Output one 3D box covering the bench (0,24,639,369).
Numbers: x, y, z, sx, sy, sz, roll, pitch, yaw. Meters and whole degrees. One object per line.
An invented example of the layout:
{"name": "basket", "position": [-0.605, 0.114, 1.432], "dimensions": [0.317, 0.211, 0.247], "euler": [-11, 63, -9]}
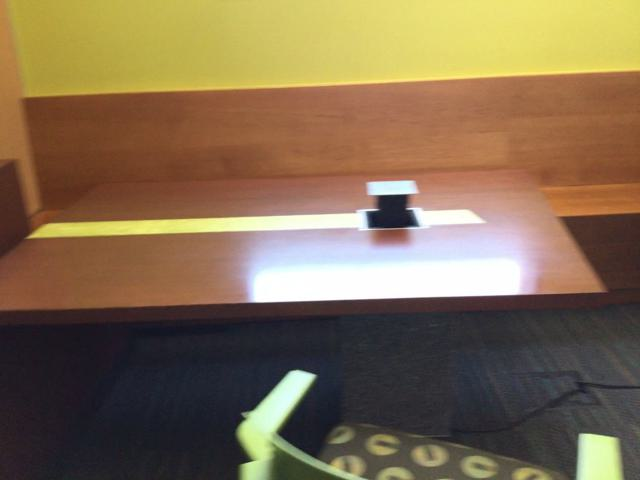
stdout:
{"name": "bench", "position": [0.840, -0.280, 2.590], "dimensions": [4.170, 1.150, 0.650], "euler": [-6, 20, 2]}
